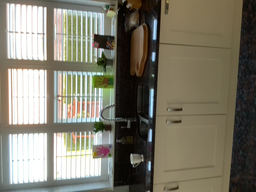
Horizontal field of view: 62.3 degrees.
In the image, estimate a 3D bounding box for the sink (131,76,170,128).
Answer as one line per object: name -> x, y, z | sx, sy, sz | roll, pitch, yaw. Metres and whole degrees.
sink -> 0.200, 0.030, 2.040 | 0.470, 0.190, 0.440 | -160, 71, -72
